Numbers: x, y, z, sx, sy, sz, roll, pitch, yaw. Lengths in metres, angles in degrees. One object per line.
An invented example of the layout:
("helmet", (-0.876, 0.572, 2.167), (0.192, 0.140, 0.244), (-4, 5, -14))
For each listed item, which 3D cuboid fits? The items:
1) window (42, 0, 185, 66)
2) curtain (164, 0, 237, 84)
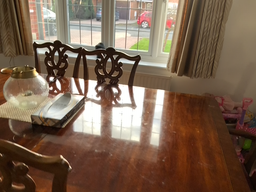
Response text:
("window", (-0.210, -1.090, 2.400), (1.660, 1.310, 0.100), (9, 23, 11))
("curtain", (0.680, -0.860, 1.890), (0.510, 1.460, 0.180), (9, 23, 12))
